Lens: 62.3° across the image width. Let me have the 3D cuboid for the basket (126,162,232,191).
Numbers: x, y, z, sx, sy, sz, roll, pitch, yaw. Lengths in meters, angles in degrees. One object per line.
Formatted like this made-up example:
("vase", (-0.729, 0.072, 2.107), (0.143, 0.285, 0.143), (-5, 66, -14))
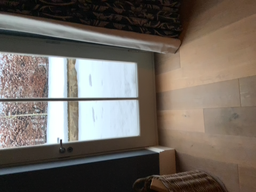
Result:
("basket", (0.360, 0.870, 1.560), (0.540, 0.540, 0.580), (-11, 80, 63))
